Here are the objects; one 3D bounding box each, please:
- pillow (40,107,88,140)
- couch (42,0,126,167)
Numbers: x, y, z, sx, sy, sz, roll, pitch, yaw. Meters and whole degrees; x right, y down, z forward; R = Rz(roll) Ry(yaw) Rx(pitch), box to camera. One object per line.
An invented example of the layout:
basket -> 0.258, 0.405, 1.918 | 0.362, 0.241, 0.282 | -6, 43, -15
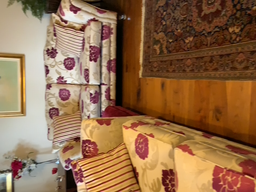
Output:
pillow -> -0.860, 0.350, 2.870 | 0.390, 0.450, 0.170 | 43, 116, 27
couch -> -0.680, -0.220, 3.040 | 1.070, 0.890, 1.990 | 9, 99, 62
